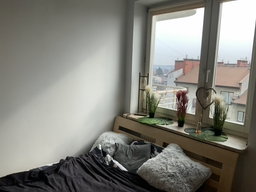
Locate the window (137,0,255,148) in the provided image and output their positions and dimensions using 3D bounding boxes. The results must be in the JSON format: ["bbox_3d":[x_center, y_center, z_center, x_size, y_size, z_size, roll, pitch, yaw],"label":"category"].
[{"bbox_3d":[0.750,-0.390,2.470,0.130,1.540,1.570,-6,12,-43],"label":"window"}]

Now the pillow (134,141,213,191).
[{"bbox_3d":[0.420,0.670,1.980,0.490,0.260,0.520,-6,12,-43],"label":"pillow"}]

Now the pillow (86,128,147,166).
[{"bbox_3d":[-0.140,0.570,2.510,0.530,0.180,0.490,11,12,44],"label":"pillow"}]
